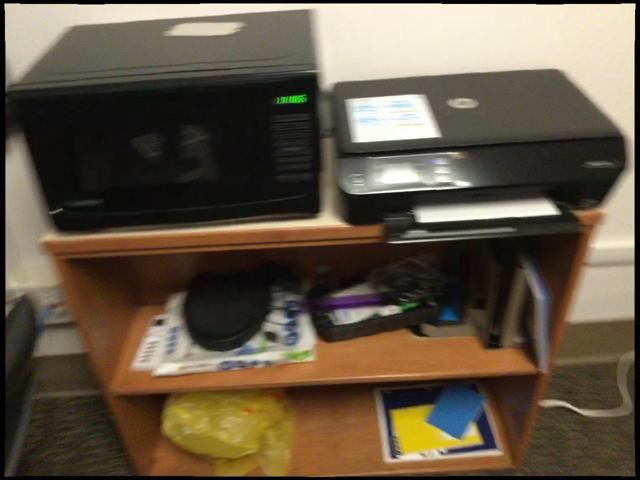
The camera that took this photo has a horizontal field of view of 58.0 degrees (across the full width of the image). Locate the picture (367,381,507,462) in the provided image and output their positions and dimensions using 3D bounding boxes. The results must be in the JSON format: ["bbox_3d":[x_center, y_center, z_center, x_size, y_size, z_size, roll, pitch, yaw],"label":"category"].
[{"bbox_3d":[0.289,0.461,1.480,0.319,0.020,0.210,-2,38,-1],"label":"picture"}]

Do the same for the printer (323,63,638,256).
[{"bbox_3d":[0.240,-0.160,1.040,0.449,0.170,0.360,-2,38,-1],"label":"printer"}]
